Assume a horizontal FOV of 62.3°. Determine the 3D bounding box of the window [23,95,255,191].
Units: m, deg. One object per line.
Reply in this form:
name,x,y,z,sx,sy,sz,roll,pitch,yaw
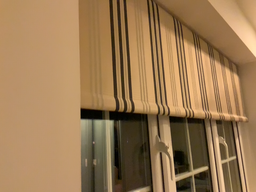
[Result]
window,0.330,0.430,1.090,0.170,0.690,1.620,-13,-14,41
